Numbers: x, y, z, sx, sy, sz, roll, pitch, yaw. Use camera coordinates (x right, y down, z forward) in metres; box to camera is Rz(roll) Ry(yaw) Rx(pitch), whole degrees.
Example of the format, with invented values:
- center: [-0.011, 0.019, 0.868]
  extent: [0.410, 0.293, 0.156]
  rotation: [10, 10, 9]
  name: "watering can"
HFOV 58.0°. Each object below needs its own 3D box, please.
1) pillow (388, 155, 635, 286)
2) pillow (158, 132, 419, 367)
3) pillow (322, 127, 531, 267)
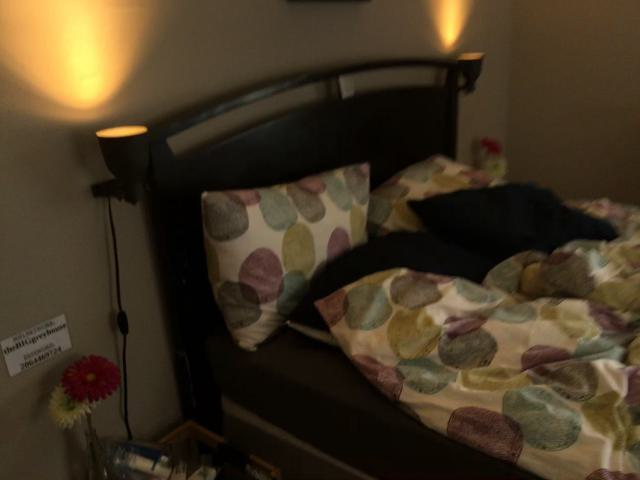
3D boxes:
- center: [0.660, -0.110, 1.950]
  extent: [0.570, 0.200, 0.670]
  rotation: [8, 24, 39]
  name: "pillow"
- center: [-0.030, -0.030, 1.670]
  extent: [0.230, 0.410, 0.790]
  rotation: [8, 24, 39]
  name: "pillow"
- center: [0.430, -0.200, 2.130]
  extent: [0.400, 0.280, 0.800]
  rotation: [8, 24, 39]
  name: "pillow"
